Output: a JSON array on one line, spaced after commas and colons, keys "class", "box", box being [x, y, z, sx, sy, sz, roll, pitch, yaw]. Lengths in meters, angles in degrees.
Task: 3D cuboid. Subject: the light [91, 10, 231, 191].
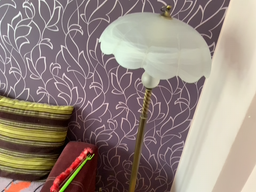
[{"class": "light", "box": [0.060, 0.340, 1.230, 0.450, 1.490, 0.350, 9, 27, 2]}]
